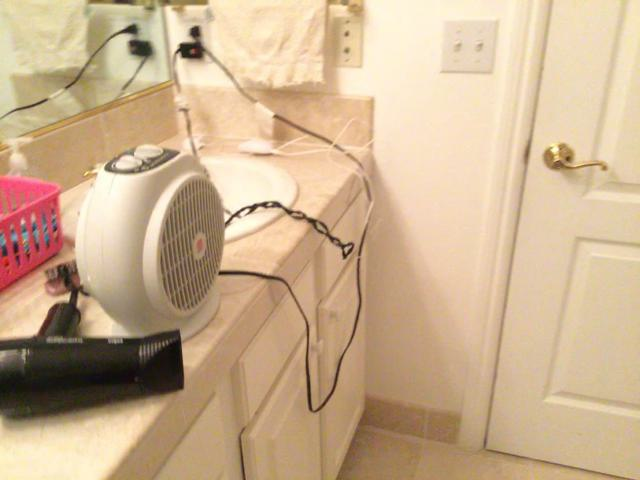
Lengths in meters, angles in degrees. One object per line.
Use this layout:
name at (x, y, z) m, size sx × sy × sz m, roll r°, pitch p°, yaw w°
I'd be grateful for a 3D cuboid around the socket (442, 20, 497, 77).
socket at (0.320, -0.410, 1.240) m, size 0.110 × 0.110 × 0.020 m, roll 4°, pitch 25°, yaw 19°

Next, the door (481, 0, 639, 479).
door at (0.790, -0.030, 1.230) m, size 0.810 × 1.570 × 0.100 m, roll 0°, pitch 23°, yaw 21°

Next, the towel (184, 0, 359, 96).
towel at (-0.110, -0.460, 1.350) m, size 0.380 × 0.220 × 0.090 m, roll 3°, pitch 25°, yaw 17°
